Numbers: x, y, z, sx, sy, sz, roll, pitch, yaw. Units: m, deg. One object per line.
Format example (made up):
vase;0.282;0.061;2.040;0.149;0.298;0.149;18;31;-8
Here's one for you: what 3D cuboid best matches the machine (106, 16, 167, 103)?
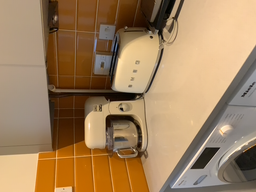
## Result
machine;0.020;-0.180;1.160;0.400;0.200;0.230;106;157;-44
